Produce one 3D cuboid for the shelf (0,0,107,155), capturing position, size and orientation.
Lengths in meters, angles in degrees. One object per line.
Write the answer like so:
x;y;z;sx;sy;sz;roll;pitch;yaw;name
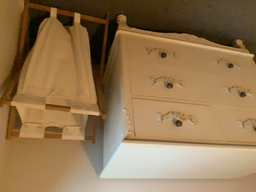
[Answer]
-0.380;-0.100;1.200;0.420;0.710;0.480;7;146;-17;shelf
